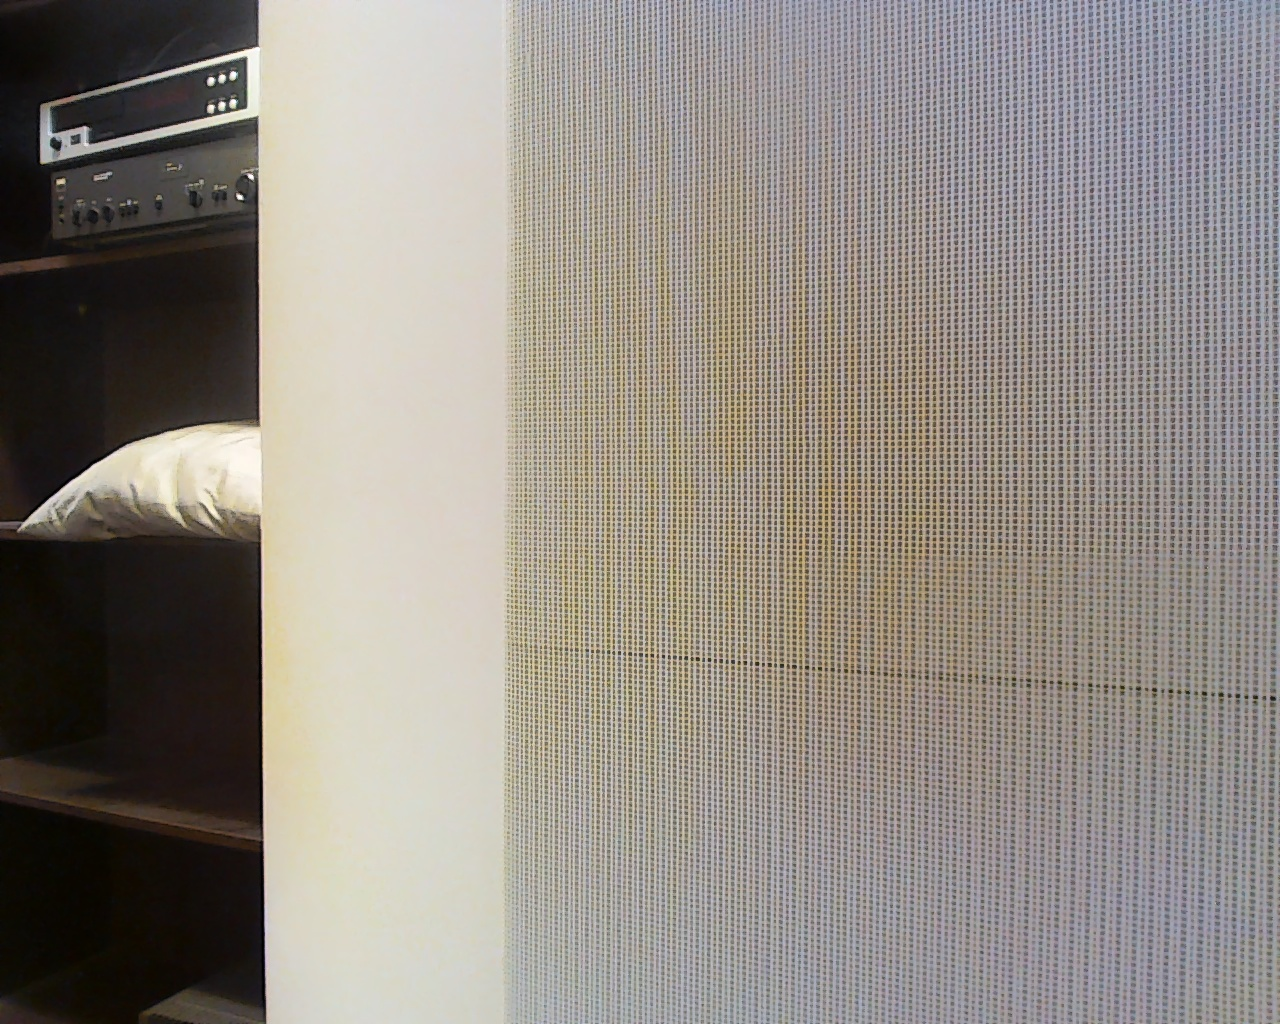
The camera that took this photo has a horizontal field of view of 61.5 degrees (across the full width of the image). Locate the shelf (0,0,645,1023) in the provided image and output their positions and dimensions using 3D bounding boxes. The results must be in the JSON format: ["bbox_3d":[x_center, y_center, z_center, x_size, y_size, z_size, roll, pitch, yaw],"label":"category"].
[{"bbox_3d":[-0.640,0.160,1.610,1.190,2.380,0.500,1,1,25],"label":"shelf"}]
